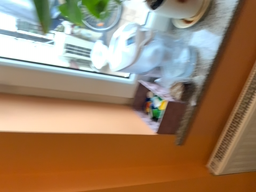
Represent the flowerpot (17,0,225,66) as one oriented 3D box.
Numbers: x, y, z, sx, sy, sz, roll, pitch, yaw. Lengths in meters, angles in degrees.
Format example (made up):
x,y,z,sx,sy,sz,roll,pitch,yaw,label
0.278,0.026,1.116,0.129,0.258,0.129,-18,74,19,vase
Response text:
x,y,z,sx,sy,sz,roll,pitch,yaw,label
0.010,-0.390,0.680,0.260,0.600,0.430,42,120,55,flowerpot
